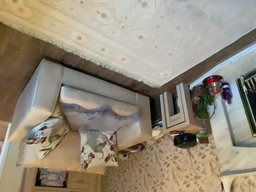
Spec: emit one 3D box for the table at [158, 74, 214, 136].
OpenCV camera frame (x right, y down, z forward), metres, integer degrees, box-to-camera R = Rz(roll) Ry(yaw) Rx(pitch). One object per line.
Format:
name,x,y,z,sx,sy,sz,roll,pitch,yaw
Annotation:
table,0.650,0.120,2.450,0.400,0.540,0.370,19,145,-33
